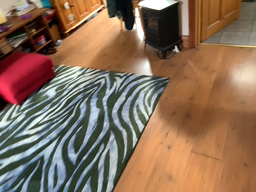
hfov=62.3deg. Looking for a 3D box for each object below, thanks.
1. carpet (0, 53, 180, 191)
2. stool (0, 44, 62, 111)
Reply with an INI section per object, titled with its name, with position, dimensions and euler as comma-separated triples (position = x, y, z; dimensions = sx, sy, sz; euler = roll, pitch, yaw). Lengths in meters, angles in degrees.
[carpet]
position = -0.810, 0.440, 1.690
dimensions = 1.690, 0.100, 2.470
euler = 13, 47, 28
[stool]
position = -1.240, -0.240, 2.340
dimensions = 0.650, 0.330, 0.640
euler = 13, 47, 27
